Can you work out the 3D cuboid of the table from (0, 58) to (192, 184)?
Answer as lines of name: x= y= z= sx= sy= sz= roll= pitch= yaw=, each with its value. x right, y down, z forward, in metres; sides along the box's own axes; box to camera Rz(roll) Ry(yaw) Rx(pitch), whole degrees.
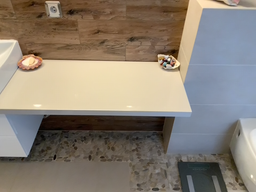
table: x=-0.170 y=0.200 z=1.480 sx=0.960 sy=0.760 sz=0.460 roll=2 pitch=41 yaw=-1
